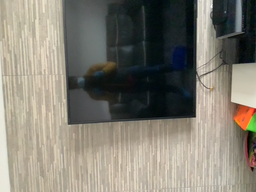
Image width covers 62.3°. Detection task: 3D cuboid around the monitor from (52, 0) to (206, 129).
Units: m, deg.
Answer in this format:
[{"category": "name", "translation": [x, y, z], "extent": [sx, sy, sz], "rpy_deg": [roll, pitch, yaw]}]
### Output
[{"category": "monitor", "translation": [0.050, -0.580, 1.320], "extent": [0.040, 0.870, 1.500], "rpy_deg": [-127, 44, -83]}]
